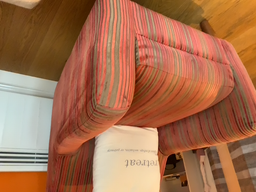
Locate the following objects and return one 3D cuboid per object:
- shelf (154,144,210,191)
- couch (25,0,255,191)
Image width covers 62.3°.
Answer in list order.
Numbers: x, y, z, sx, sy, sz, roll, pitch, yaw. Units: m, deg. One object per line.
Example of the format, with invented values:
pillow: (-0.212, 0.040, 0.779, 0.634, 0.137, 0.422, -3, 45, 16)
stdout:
shelf: (1.080, 2.060, 3.910, 0.440, 2.140, 0.910, 5, 152, -25)
couch: (0.010, 0.120, 1.070, 0.780, 0.880, 0.930, 9, 150, -32)
